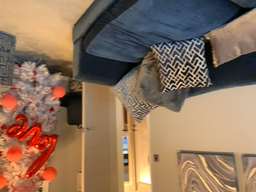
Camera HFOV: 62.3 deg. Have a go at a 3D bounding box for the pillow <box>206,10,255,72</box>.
[{"bbox_3d":[0.760,-0.380,1.360,0.140,0.230,0.480,38,137,-25],"label":"pillow"}]

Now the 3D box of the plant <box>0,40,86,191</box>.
[{"bbox_3d":[-1.290,0.520,2.920,1.040,2.110,0.920,8,165,-42],"label":"plant"}]

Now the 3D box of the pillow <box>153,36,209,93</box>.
[{"bbox_3d":[0.410,-0.240,1.640,0.380,0.400,0.130,-4,147,22],"label":"pillow"}]

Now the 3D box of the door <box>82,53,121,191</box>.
[{"bbox_3d":[-0.350,0.470,3.010,0.040,2.000,0.820,-7,168,28],"label":"door"}]
